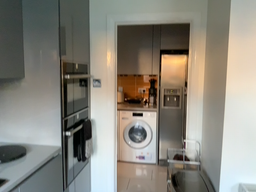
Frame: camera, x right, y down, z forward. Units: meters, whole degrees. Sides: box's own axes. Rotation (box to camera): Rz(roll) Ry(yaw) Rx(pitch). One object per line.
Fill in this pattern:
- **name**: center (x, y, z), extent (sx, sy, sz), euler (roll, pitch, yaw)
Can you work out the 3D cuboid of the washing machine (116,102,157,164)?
- **washing machine**: center (0.170, 0.600, 3.720), extent (0.620, 0.890, 0.700), euler (2, 7, 8)
